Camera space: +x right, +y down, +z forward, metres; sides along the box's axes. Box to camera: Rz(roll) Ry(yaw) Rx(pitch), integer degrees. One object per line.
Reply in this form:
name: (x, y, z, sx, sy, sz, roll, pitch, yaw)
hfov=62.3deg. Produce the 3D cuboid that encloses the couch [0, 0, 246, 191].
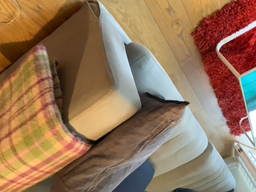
couch: (0.200, 0.630, 1.650, 1.050, 0.770, 2.500, -31, 136, 15)

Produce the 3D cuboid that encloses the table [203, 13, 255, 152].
table: (1.020, -0.060, 1.510, 0.600, 0.340, 1.100, -30, 136, 13)
